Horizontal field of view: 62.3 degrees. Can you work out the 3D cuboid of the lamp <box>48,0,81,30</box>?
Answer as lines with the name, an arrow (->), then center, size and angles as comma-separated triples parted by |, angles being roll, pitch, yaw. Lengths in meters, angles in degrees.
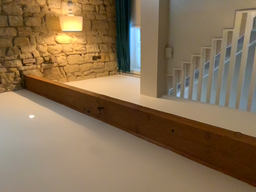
lamp -> -1.200, -1.610, 3.990 | 0.410, 0.700, 0.400 | -17, -157, -41
